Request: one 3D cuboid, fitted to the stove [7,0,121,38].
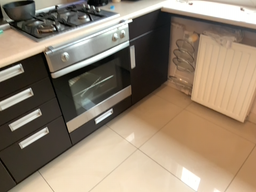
[{"bbox_3d":[-0.420,-0.530,1.390,0.550,0.010,0.510,-32,46,-32],"label":"stove"}]

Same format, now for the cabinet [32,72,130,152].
[{"bbox_3d":[-0.390,0.090,1.830,0.590,0.200,0.560,-32,46,-32],"label":"cabinet"}]

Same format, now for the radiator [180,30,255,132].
[{"bbox_3d":[0.710,-0.120,1.680,0.130,0.660,0.550,-31,45,-31],"label":"radiator"}]
